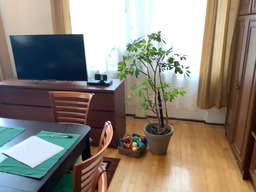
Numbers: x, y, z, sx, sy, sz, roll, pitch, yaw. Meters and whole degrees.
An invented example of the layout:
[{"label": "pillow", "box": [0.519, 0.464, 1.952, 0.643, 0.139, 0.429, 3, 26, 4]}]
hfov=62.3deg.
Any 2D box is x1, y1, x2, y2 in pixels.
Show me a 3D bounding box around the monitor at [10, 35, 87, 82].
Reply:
[{"label": "monitor", "box": [-0.980, -0.460, 2.620, 0.950, 0.550, 0.050, 3, 19, 12]}]
